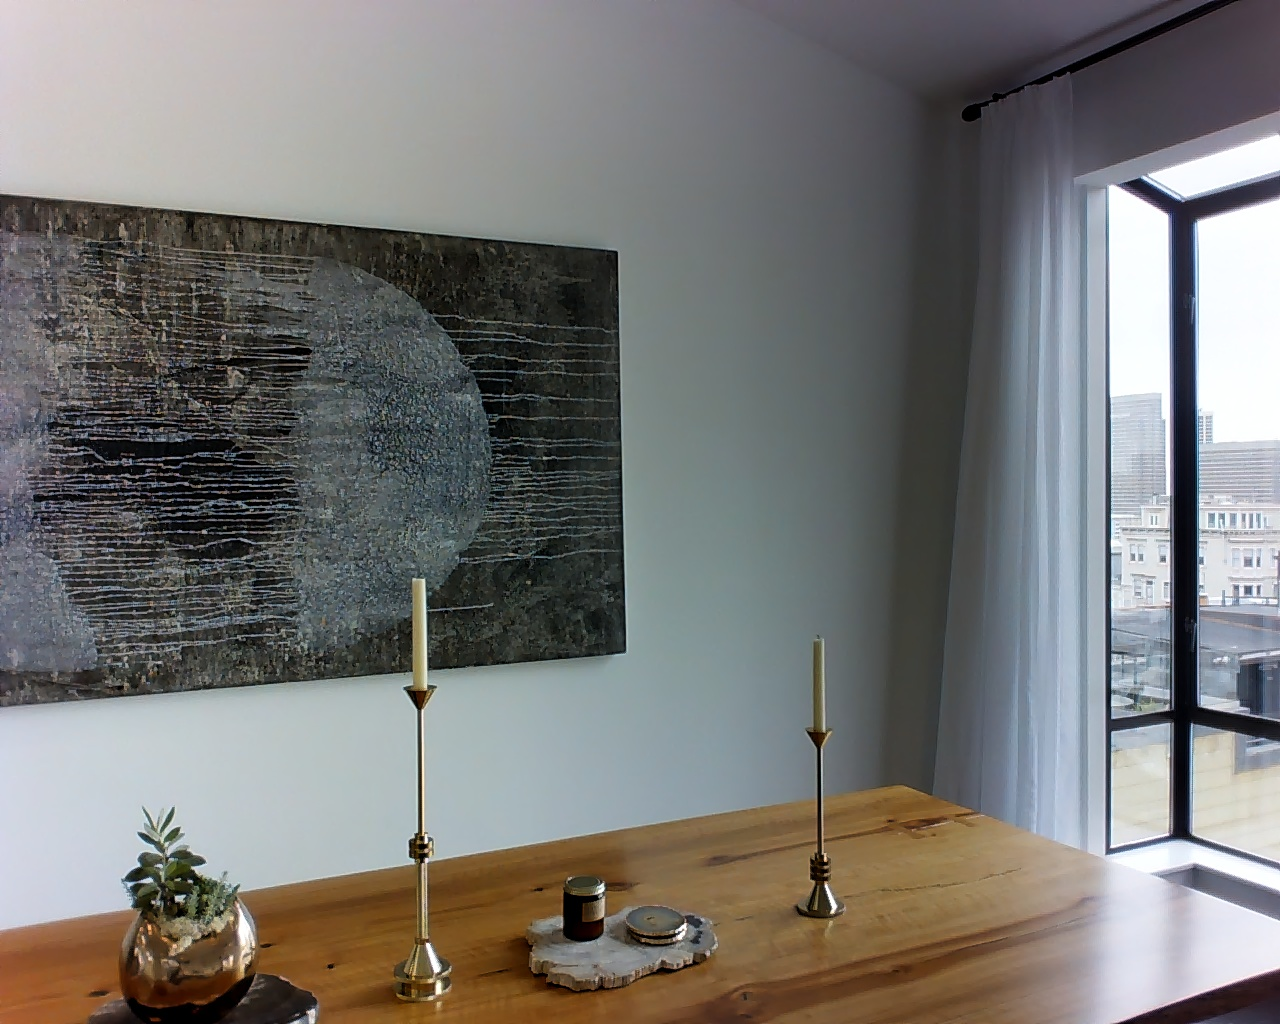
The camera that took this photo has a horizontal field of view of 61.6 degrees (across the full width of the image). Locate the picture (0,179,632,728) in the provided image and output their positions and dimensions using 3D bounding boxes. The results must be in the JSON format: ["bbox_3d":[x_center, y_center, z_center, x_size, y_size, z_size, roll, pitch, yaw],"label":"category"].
[{"bbox_3d":[-1.150,-0.140,2.730,2.470,1.280,0.090,-1,1,-27],"label":"picture"}]
